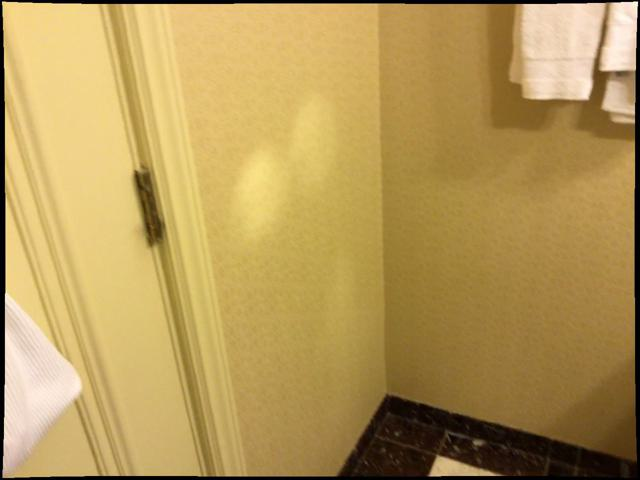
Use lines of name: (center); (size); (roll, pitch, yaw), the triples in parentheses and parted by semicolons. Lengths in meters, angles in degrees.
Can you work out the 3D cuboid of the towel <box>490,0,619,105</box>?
towel: (0.480, -0.480, 1.170); (0.220, 0.380, 0.110); (9, 30, 27)
